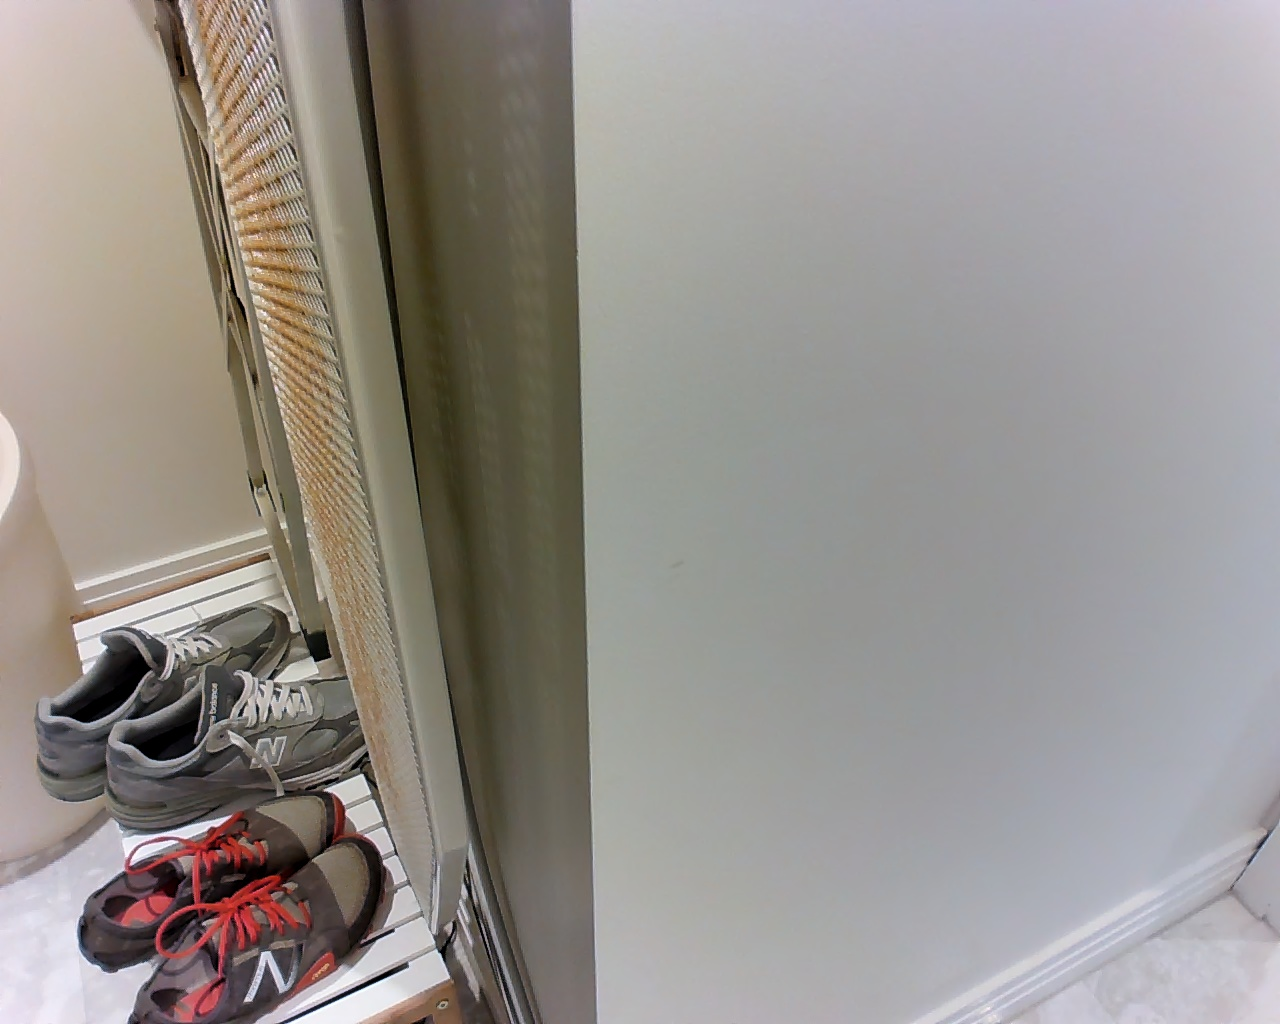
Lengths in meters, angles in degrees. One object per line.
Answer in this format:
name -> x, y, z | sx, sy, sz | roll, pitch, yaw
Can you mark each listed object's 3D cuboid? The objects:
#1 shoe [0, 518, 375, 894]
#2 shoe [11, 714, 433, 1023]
shoe -> -0.520, 0.200, 1.220 | 0.340, 0.150, 0.300 | -18, 44, -20
shoe -> -0.400, 0.380, 1.050 | 0.300, 0.110, 0.240 | -27, 48, -28
